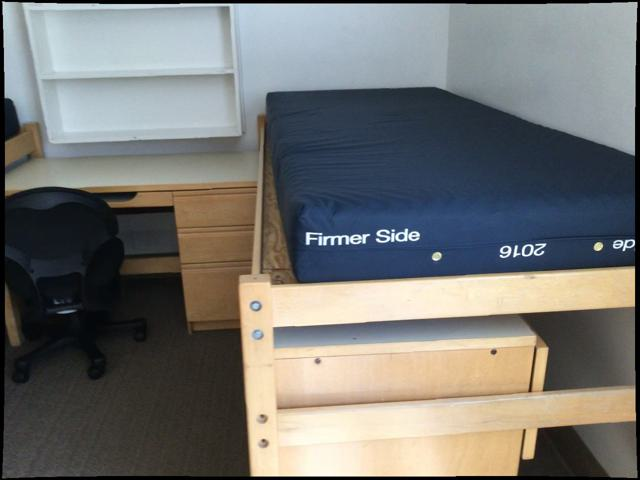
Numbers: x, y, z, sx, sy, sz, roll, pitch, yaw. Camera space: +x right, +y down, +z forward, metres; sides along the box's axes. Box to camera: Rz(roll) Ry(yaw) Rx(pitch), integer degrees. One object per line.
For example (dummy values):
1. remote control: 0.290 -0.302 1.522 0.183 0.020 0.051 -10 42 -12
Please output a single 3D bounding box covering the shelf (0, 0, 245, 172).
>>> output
1. shelf: -1.007 -1.013 2.870 1.137 1.233 0.240 -5 22 -4
